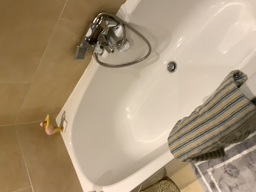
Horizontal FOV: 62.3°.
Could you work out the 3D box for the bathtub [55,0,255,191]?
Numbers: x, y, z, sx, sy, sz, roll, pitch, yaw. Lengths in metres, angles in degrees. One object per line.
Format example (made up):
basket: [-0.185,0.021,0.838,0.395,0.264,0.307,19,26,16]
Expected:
bathtub: [0.280,-0.090,1.210,1.650,0.590,0.750,-49,60,33]
